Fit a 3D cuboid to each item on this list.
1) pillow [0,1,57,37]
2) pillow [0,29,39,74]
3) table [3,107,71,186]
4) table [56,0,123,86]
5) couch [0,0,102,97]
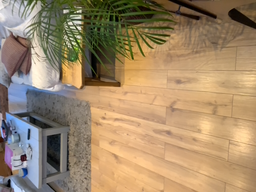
[{"bbox_3d":[-1.200,-0.760,2.180,0.780,0.470,0.180,4,98,27],"label":"pillow"},{"bbox_3d":[-1.220,-0.490,2.370,0.460,0.250,0.440,12,103,44],"label":"pillow"},{"bbox_3d":[-1.300,0.600,2.930,1.230,0.410,0.680,10,101,44],"label":"table"},{"bbox_3d":[-0.330,-0.450,1.840,0.360,0.430,0.680,11,102,44],"label":"table"},{"bbox_3d":[-1.310,-0.660,2.540,2.150,0.810,1.020,10,101,44],"label":"couch"}]
